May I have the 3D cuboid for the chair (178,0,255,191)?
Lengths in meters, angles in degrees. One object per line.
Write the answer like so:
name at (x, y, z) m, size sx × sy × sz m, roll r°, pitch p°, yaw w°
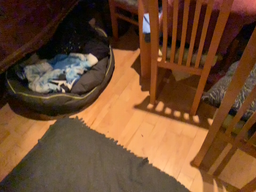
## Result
chair at (0.560, -0.010, 0.830) m, size 0.400 × 1.060 × 0.520 m, roll 30°, pitch 63°, yaw 24°

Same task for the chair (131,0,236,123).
chair at (0.310, -0.380, 1.120) m, size 0.370 × 1.060 × 0.520 m, roll 17°, pitch 59°, yaw 17°
